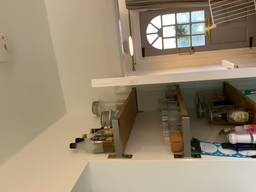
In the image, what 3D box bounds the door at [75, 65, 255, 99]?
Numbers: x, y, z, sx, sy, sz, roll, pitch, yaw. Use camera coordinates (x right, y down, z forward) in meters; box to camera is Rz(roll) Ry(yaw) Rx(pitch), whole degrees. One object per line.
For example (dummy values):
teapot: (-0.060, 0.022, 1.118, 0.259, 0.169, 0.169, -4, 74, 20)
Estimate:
door: (0.830, -0.140, 1.170, 0.960, 1.960, 0.070, -36, -58, -78)
